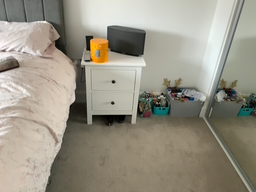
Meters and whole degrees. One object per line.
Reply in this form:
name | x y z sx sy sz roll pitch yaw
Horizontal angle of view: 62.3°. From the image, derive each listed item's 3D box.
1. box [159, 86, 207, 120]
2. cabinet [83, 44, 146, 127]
box | 0.580 0.070 2.300 0.410 0.220 0.310 3 31 -3
cabinet | -0.140 -0.100 2.060 0.510 0.660 0.420 2 31 -5
